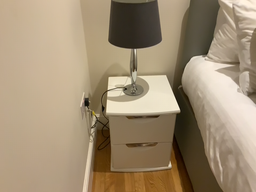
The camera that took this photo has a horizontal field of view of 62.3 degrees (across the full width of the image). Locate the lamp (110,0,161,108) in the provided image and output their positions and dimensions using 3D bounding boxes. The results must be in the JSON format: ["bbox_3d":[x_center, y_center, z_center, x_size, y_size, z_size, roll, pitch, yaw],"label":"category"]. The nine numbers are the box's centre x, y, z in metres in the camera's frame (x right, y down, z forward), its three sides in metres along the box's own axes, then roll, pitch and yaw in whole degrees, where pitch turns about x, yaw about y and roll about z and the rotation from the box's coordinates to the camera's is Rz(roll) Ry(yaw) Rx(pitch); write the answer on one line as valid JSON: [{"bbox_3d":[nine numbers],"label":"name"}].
[{"bbox_3d":[0.020,-0.260,1.210,0.220,0.540,0.360,-2,34,-3],"label":"lamp"}]
